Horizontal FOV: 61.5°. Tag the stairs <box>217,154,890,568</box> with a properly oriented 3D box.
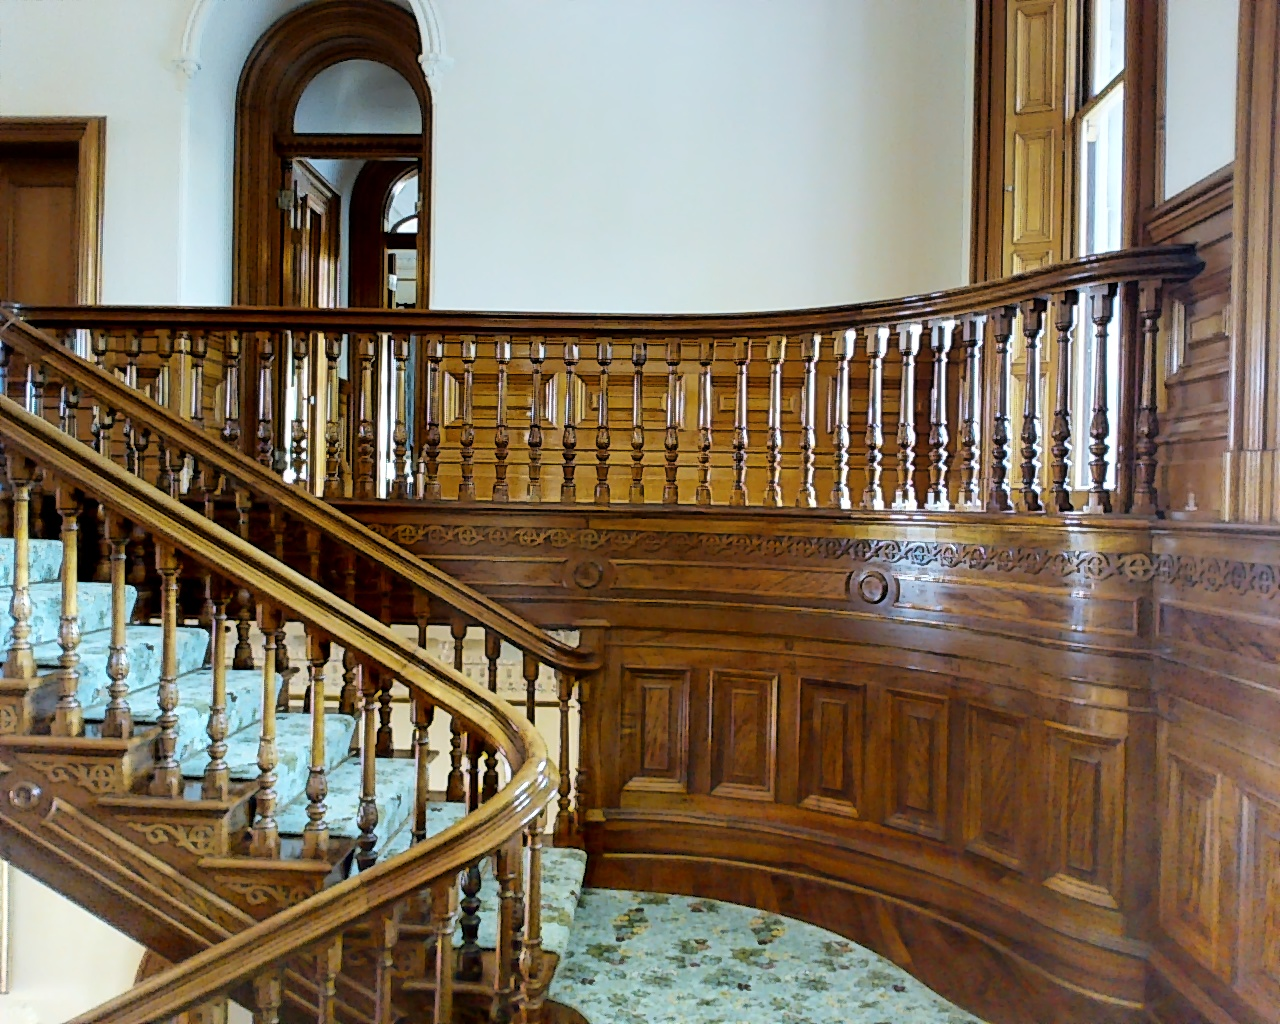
[{"bbox_3d":[-0.330,-0.600,4.740,2.590,1.570,1.160,1,1,2],"label":"stairs"}]

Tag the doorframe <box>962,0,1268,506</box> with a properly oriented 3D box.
[{"bbox_3d":[1.900,-1.730,4.580,0.470,3.390,1.960,1,1,2],"label":"doorframe"}]
